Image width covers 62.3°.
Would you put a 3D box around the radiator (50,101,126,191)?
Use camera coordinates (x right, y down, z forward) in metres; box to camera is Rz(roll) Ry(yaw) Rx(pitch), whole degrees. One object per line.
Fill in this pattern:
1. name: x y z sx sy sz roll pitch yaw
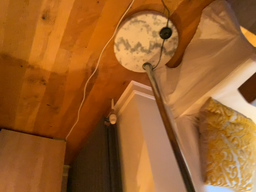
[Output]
1. radiator: -0.350 0.650 1.540 0.220 0.790 0.930 16 129 -24
